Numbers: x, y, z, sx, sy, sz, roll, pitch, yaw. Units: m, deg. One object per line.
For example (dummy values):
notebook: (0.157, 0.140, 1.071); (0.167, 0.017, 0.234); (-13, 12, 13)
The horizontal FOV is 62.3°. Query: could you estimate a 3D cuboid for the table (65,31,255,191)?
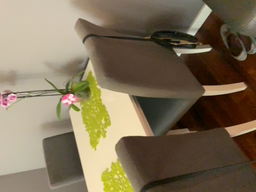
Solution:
table: (0.180, 0.350, 1.400); (0.830, 0.760, 1.240); (-57, 46, 41)
